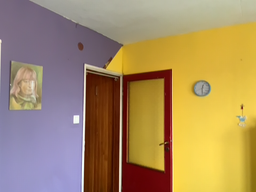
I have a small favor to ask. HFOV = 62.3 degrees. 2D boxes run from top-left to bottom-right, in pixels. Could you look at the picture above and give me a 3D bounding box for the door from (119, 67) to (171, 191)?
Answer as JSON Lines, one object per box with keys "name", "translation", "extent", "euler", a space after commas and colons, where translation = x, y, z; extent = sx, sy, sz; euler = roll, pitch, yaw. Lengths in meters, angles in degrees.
{"name": "door", "translation": [0.210, 0.700, 2.910], "extent": [0.820, 2.110, 0.080], "euler": [-1, -3, 42]}
